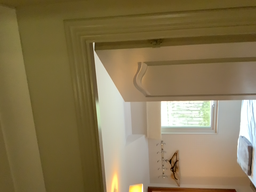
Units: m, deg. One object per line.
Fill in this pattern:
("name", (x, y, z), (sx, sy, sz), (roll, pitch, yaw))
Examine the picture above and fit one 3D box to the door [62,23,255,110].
("door", (0.890, -0.080, 1.170), (0.990, 2.180, 0.110), (66, -156, -73))
